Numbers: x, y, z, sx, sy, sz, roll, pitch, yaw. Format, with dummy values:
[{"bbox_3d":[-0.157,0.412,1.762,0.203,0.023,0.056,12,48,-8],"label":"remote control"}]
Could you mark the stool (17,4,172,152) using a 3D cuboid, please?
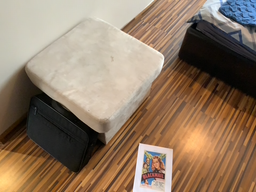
[{"bbox_3d":[-0.170,-0.120,1.300,0.560,0.430,0.590,34,62,16],"label":"stool"}]
